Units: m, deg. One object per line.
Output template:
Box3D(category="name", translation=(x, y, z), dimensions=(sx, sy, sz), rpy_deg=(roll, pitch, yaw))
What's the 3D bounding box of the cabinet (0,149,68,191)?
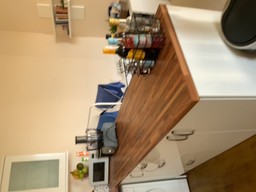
Box3D(category="cabinet", translation=(-1.170, 0.990, 2.690), dimensions=(0.280, 0.770, 0.510), rpy_deg=(115, 152, -56))
